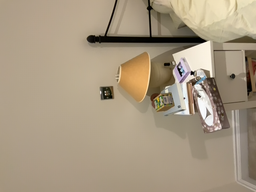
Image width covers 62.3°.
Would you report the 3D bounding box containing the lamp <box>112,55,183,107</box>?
[{"bbox_3d":[0.100,-0.090,1.260,0.300,0.310,0.260,-175,81,-70],"label":"lamp"}]
